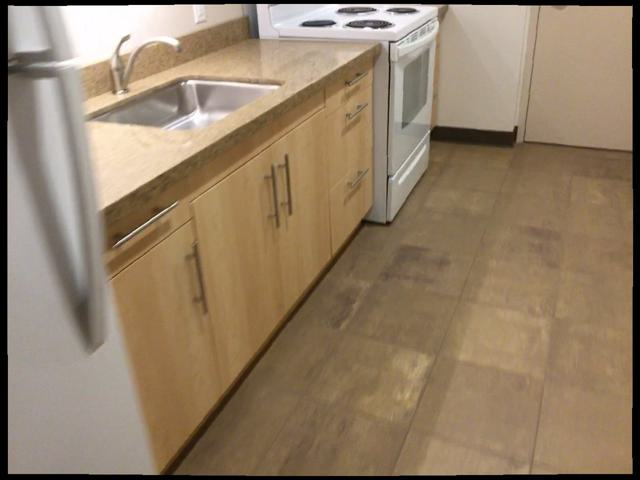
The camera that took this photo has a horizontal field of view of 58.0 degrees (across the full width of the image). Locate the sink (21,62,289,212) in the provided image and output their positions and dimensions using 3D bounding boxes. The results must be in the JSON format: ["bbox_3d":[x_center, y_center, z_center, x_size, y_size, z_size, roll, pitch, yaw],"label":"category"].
[{"bbox_3d":[-0.479,-0.371,1.860,0.529,0.200,0.660,11,33,18],"label":"sink"}]

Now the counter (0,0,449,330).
[{"bbox_3d":[-0.170,-0.761,2.350,0.829,0.200,3.101,11,33,18],"label":"counter"}]
